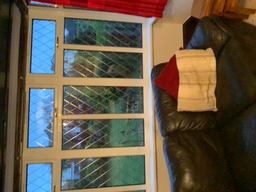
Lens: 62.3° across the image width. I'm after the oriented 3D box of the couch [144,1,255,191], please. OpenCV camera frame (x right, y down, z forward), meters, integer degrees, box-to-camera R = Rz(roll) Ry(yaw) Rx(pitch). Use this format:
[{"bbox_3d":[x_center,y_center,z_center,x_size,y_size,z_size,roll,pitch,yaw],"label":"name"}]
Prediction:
[{"bbox_3d":[0.850,0.480,1.730,1.040,0.870,2.360,109,157,-57],"label":"couch"}]
